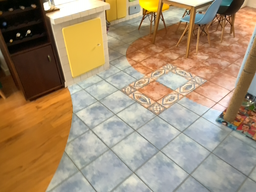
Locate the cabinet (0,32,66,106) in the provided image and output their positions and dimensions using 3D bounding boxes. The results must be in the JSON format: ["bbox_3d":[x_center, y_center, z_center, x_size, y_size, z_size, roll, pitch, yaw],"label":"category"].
[{"bbox_3d":[-1.090,-0.320,2.420,0.490,0.600,0.400,-31,48,-32],"label":"cabinet"}]

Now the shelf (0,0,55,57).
[{"bbox_3d":[-1.090,-0.750,2.080,0.490,0.490,0.390,-31,48,-32],"label":"shelf"}]
